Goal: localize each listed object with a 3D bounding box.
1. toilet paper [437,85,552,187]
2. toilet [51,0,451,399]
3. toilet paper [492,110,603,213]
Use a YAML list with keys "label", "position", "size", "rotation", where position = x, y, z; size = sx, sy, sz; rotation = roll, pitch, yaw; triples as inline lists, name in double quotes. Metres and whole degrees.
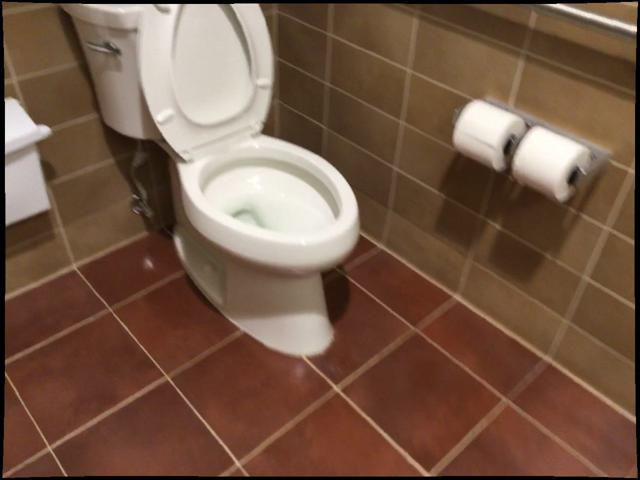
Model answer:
- label: "toilet paper"
  position: [0.390, -0.240, 1.310]
  size: [0.140, 0.130, 0.180]
  rotation: [-30, 50, -32]
- label: "toilet"
  position: [-0.200, -0.230, 1.470]
  size: [0.480, 0.860, 0.770]
  rotation: [-30, 50, -32]
- label: "toilet paper"
  position: [0.480, -0.170, 1.230]
  size: [0.140, 0.130, 0.140]
  rotation: [-30, 50, -32]
